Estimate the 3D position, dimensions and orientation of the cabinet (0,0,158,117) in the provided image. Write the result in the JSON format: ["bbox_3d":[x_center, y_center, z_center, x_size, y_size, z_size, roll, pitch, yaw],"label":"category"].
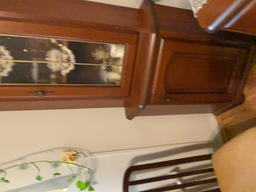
[{"bbox_3d":[-0.510,-0.240,1.170,0.540,1.130,0.550,130,135,-57],"label":"cabinet"}]

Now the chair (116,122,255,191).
[{"bbox_3d":[0.520,0.460,1.140,0.610,0.970,0.460,129,136,-56],"label":"chair"}]

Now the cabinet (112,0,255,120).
[{"bbox_3d":[0.420,-0.230,1.530,0.590,0.860,0.600,130,135,-57],"label":"cabinet"}]
